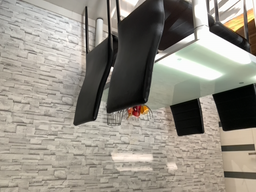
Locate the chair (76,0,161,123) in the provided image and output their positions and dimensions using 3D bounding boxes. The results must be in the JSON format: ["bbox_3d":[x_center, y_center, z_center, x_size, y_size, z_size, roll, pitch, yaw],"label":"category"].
[{"bbox_3d":[-0.070,-0.300,1.640,0.460,0.920,0.400,12,160,-33],"label":"chair"}]
